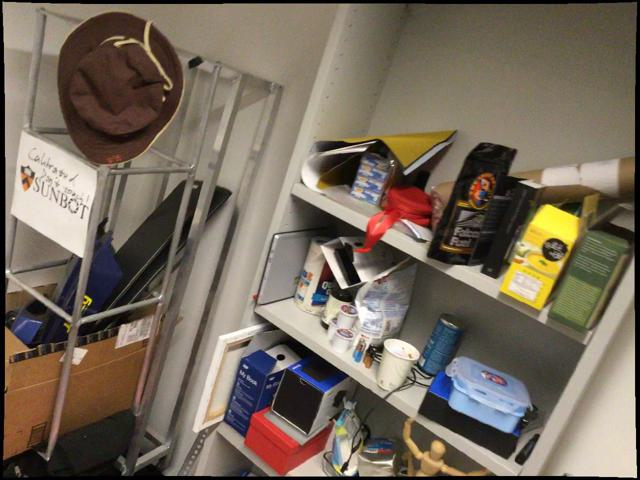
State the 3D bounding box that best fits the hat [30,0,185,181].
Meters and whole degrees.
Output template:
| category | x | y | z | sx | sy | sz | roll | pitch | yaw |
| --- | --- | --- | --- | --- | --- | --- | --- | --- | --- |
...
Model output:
| category | x | y | z | sx | sy | sz | roll | pitch | yaw |
| --- | --- | --- | --- | --- | --- | --- | --- | --- | --- |
| hat | -0.460 | -0.350 | 1.260 | 0.240 | 0.340 | 0.220 | 12 | 21 | -20 |
